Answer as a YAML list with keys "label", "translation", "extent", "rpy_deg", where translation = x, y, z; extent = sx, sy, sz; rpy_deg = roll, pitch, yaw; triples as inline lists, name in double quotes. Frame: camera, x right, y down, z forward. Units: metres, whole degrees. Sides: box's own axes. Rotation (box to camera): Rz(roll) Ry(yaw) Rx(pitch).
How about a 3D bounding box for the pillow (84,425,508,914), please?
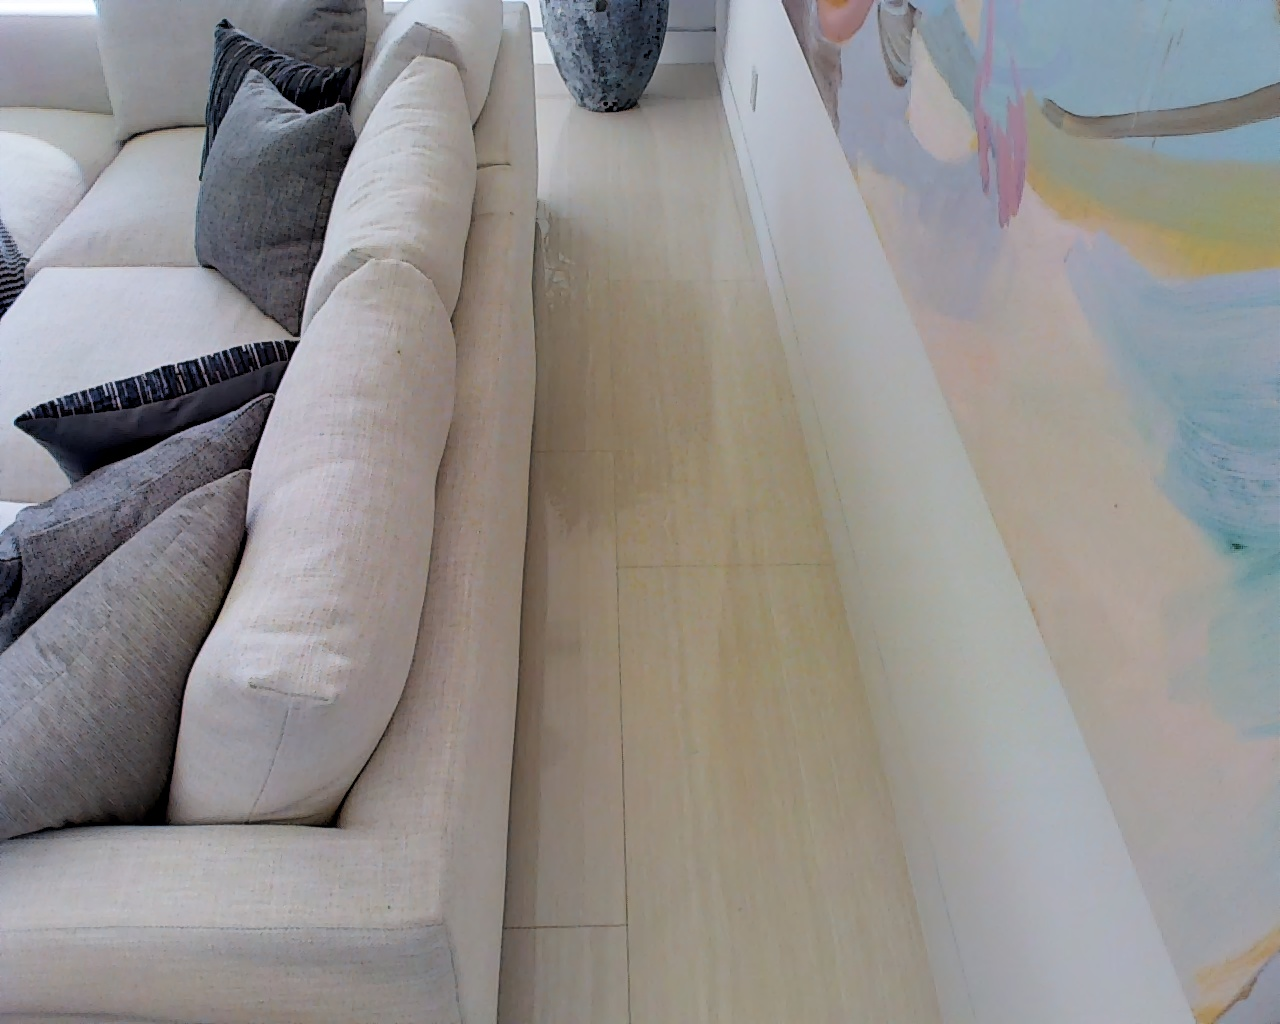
- label: "pillow"
  translation: [-0.350, 0.170, 1.240]
  extent: [0.260, 0.340, 0.390]
  rpy_deg: [10, 43, 9]

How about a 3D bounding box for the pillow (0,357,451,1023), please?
- label: "pillow"
  translation: [-0.640, 0.220, 1.320]
  extent: [0.380, 0.460, 0.690]
  rpy_deg: [29, 49, 28]
